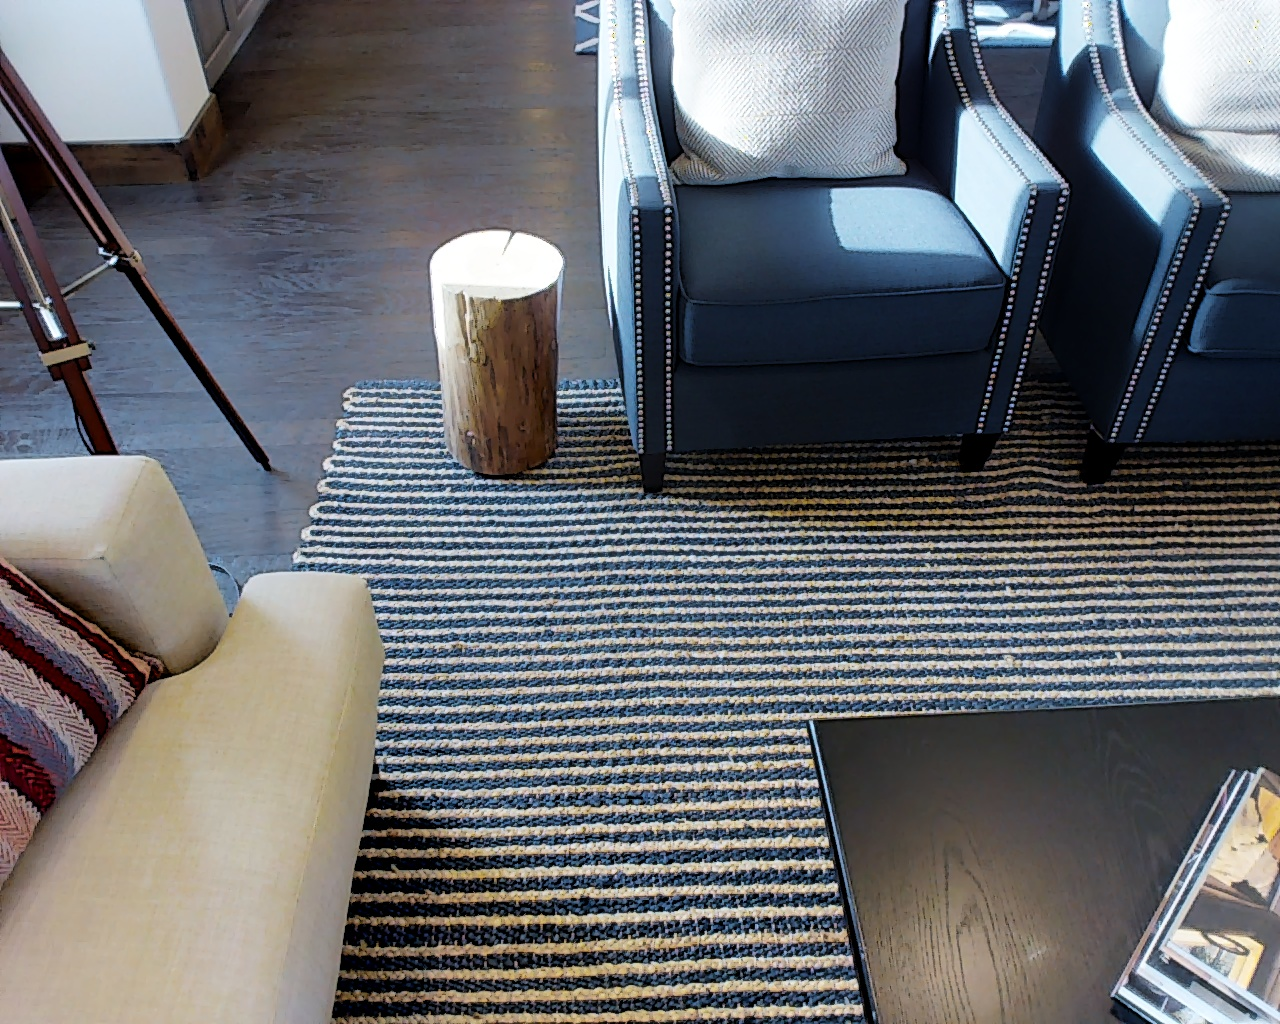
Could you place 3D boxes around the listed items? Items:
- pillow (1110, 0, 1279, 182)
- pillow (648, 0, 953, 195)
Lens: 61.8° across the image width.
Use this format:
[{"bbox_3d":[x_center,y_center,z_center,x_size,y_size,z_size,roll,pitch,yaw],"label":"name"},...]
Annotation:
[{"bbox_3d":[1.230,-0.840,2.050,0.530,0.370,0.200,-2,21,-2],"label":"pillow"},{"bbox_3d":[0.290,-0.840,2.030,0.530,0.420,0.200,-3,24,-3],"label":"pillow"}]
